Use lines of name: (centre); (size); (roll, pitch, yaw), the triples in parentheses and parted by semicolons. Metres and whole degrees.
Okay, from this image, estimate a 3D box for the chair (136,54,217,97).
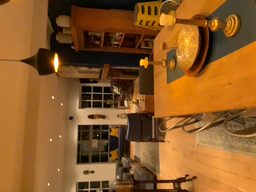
chair: (0.620, -0.250, 2.900); (0.580, 0.900, 0.420); (142, 129, -77)
